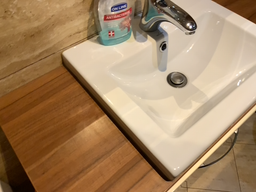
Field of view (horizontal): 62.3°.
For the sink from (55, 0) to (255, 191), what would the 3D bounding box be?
[{"bbox_3d":[0.150,-0.090,0.600,0.530,0.120,0.410,-34,62,-23],"label":"sink"}]
